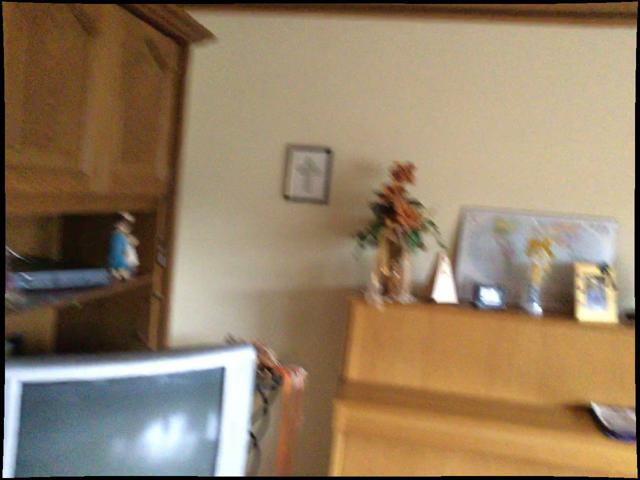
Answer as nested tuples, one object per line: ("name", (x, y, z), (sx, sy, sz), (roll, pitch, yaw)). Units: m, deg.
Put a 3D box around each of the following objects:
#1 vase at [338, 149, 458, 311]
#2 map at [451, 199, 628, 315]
("vase", (0.340, -0.060, 2.520), (0.410, 0.611, 0.390), (7, 7, 9))
("map", (0.969, 0.070, 2.600), (0.689, 0.430, 0.070), (7, 7, 9))
